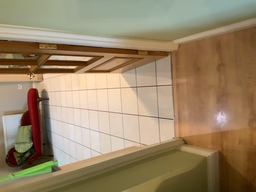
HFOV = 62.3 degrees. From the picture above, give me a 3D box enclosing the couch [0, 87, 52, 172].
[{"bbox_3d":[-2.360,0.670,4.840,0.750,0.860,1.690,-2,92,53],"label":"couch"}]
